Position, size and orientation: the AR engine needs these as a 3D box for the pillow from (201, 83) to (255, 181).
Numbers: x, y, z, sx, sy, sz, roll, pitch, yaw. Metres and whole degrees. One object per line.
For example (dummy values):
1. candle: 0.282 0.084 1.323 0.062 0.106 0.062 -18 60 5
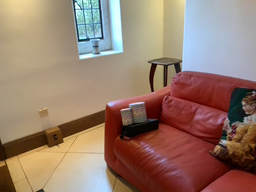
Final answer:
1. pillow: 0.790 0.220 1.390 0.370 0.560 0.150 18 -19 42
